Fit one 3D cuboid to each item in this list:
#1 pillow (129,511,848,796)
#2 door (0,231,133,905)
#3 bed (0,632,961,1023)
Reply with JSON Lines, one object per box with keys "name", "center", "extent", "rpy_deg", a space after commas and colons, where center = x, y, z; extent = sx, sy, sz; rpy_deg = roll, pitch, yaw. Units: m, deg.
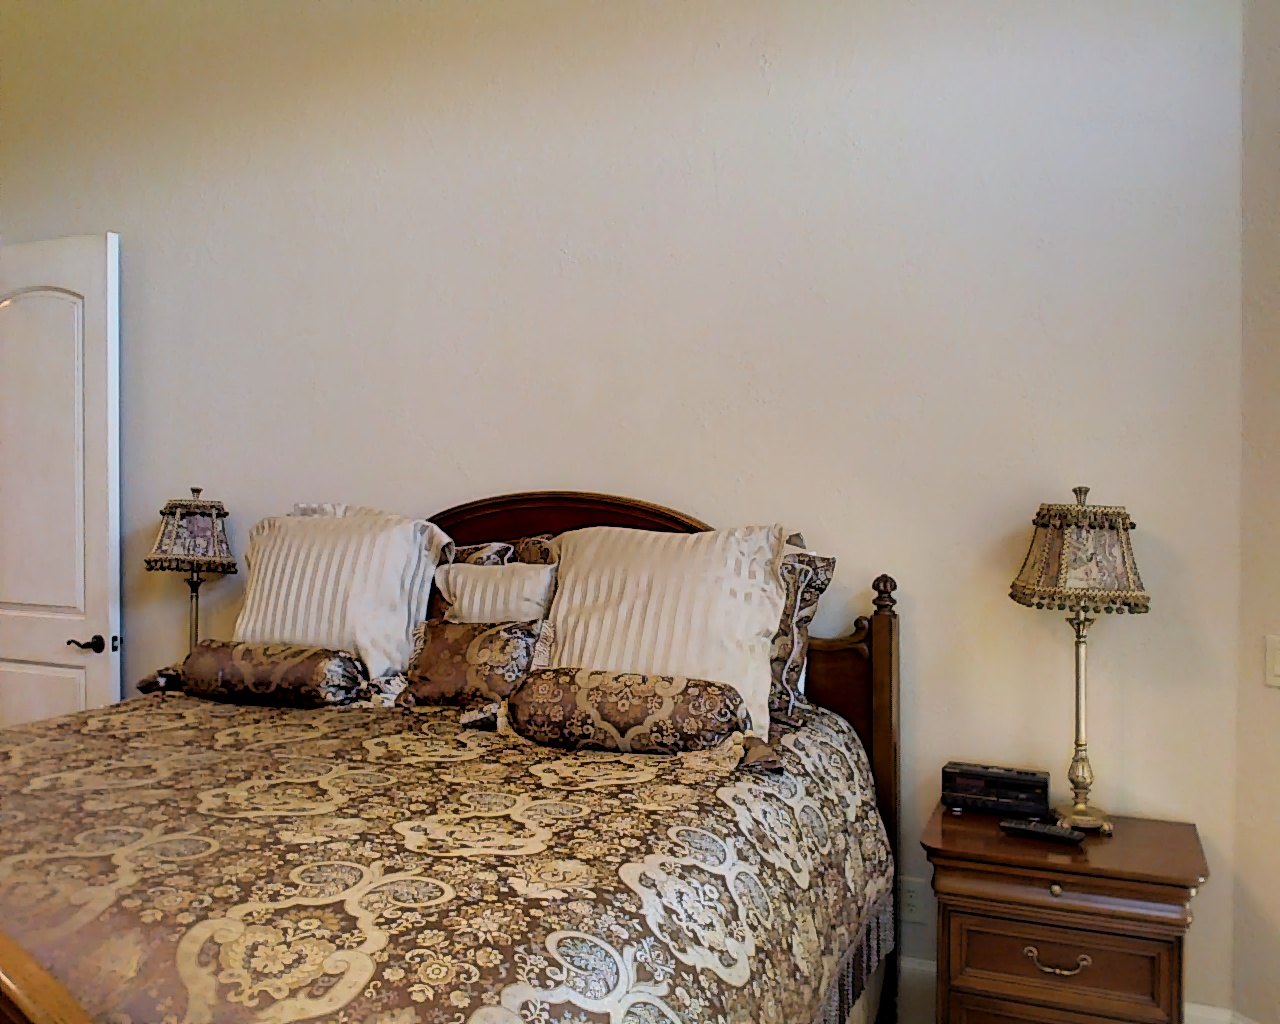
{"name": "pillow", "center": [-0.410, 0.290, 2.920], "extent": [1.779, 0.550, 0.790], "rpy_deg": [1, 1, 23]}
{"name": "door", "center": [-2.309, 0.210, 4.160], "extent": [0.850, 2.501, 0.050], "rpy_deg": [1, 1, 21]}
{"name": "bed", "center": [-0.630, 0.980, 2.350], "extent": [2.289, 1.040, 2.250], "rpy_deg": [1, 1, 23]}
